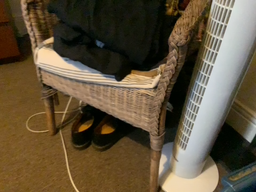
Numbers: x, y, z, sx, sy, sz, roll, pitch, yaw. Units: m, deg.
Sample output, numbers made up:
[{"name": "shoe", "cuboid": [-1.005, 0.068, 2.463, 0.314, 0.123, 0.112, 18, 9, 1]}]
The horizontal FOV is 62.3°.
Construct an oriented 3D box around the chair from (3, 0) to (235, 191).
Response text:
[{"name": "chair", "cuboid": [0.010, -0.170, 0.850, 0.570, 0.780, 0.570, 23, 43, 23]}]
